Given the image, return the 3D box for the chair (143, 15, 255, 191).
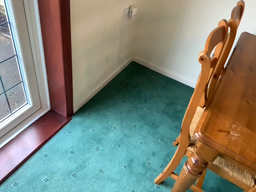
[{"bbox_3d":[0.500,0.160,1.170,0.480,0.940,0.520,27,44,16],"label":"chair"}]
